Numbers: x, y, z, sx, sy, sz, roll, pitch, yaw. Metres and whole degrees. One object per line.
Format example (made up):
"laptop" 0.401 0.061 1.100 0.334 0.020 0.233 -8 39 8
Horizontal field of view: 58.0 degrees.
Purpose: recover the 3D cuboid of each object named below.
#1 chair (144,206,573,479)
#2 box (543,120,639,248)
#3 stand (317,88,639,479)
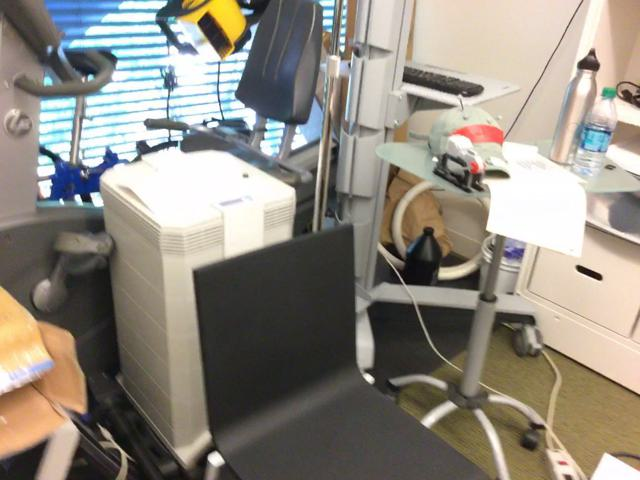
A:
"chair" 0.030 0.440 1.160 0.460 0.800 0.580 -19 32 -39
"box" 1.040 -0.180 1.840 0.400 0.270 0.440 -19 32 -39
"stand" 0.380 0.160 1.530 0.500 0.980 0.530 -19 33 -40
